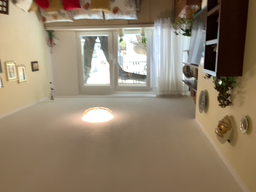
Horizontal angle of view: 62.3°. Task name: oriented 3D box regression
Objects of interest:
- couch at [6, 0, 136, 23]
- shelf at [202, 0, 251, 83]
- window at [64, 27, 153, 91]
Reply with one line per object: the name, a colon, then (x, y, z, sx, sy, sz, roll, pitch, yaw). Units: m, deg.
couch: (-0.900, -1.860, 3.760, 2.040, 0.910, 1.000, 0, -168, 4)
shelf: (0.710, -0.490, 1.570, 0.150, 0.740, 0.420, 0, -168, 4)
window: (-0.410, -0.790, 4.640, 1.880, 1.330, 0.220, 1, -168, 7)
